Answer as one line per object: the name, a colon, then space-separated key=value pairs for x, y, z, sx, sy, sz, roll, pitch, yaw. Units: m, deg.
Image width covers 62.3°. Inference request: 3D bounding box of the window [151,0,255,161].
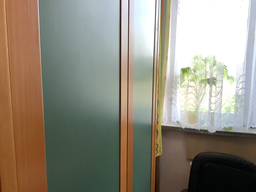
window: x=0.820 y=-0.350 z=1.490 sx=1.260 sy=1.580 sz=0.240 roll=2 pitch=9 yaw=17
